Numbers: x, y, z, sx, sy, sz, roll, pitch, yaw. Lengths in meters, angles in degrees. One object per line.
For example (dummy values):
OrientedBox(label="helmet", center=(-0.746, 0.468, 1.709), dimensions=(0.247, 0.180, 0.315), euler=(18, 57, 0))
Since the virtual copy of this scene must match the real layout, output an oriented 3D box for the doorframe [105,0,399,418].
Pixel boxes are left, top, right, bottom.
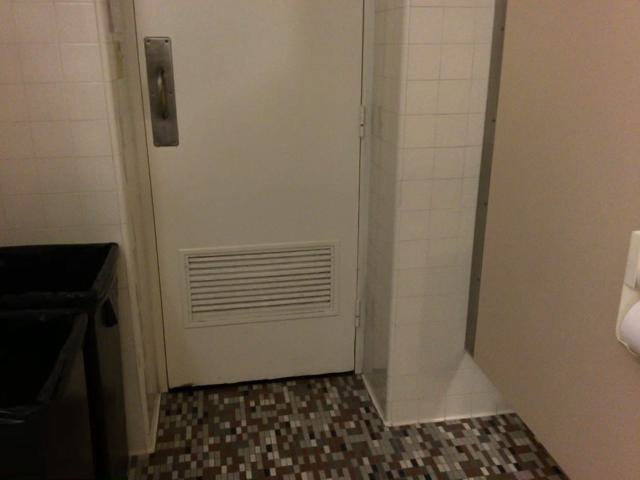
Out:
OrientedBox(label="doorframe", center=(-0.200, -0.100, 2.230), dimensions=(0.990, 1.600, 0.120), euler=(-4, 17, -8))
